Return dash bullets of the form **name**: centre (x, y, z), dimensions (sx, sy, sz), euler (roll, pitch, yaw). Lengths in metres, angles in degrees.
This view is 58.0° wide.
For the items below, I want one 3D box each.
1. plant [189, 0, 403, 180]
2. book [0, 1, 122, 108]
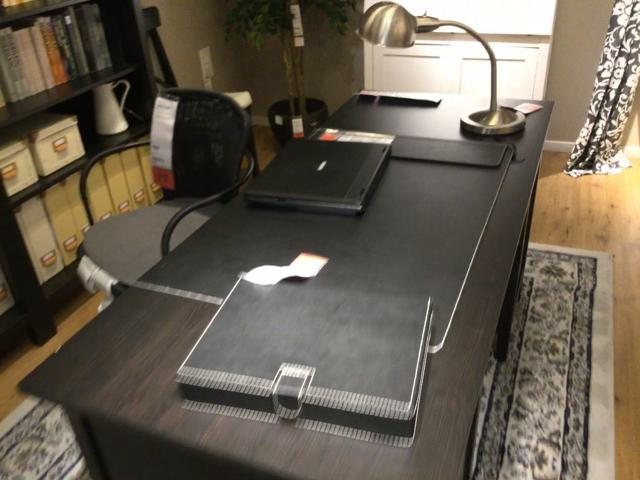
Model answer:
- **plant**: centre (-0.100, -1.200, 3.010), dimensions (0.880, 1.520, 0.690), euler (10, 33, 24)
- **book**: centre (-1.160, -0.650, 2.050), dimensions (0.380, 0.240, 0.820), euler (10, 33, 24)
